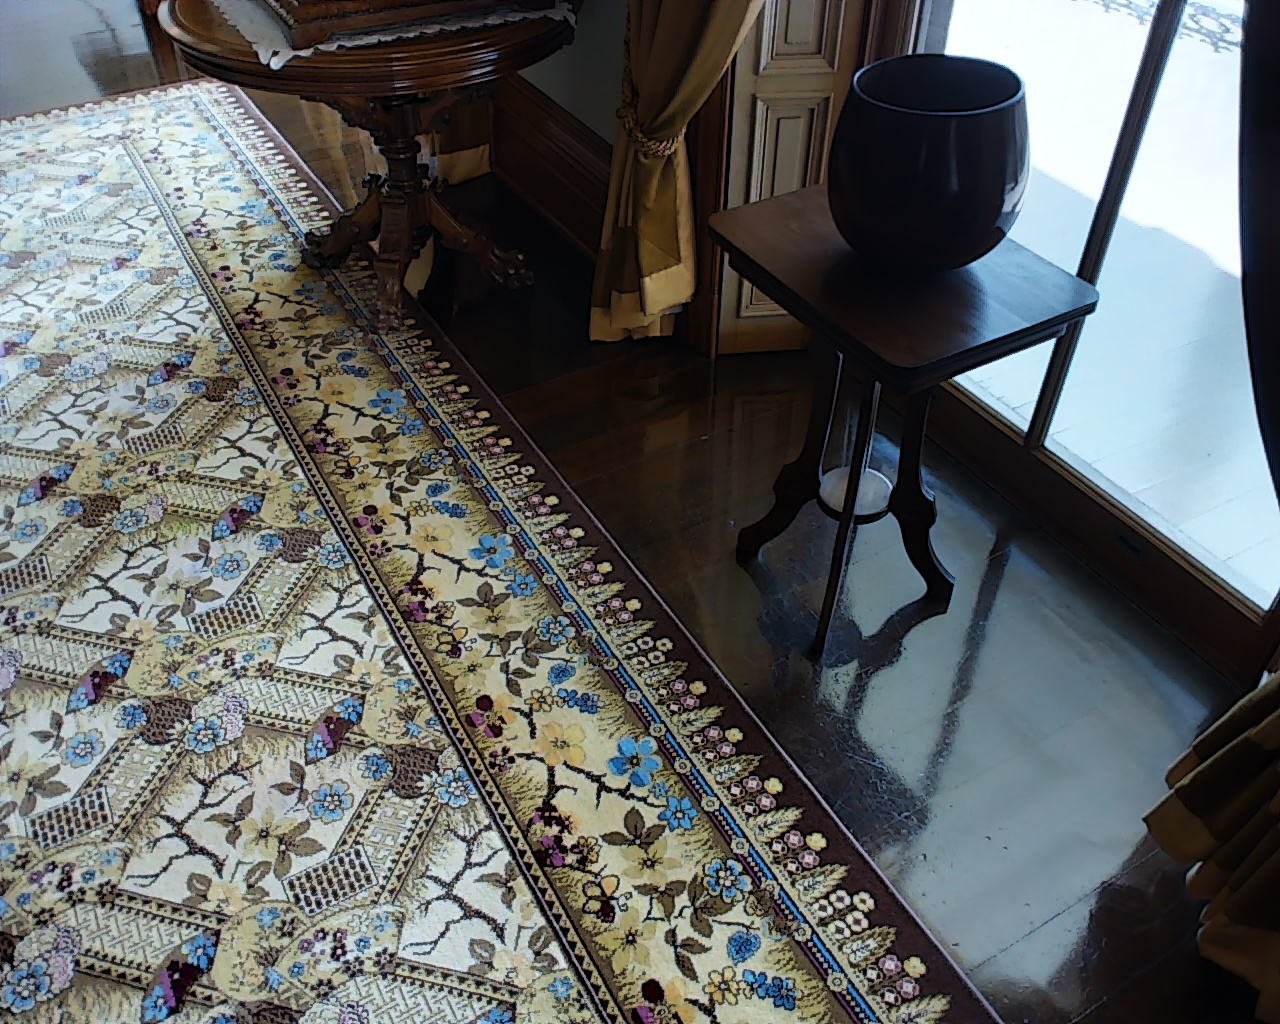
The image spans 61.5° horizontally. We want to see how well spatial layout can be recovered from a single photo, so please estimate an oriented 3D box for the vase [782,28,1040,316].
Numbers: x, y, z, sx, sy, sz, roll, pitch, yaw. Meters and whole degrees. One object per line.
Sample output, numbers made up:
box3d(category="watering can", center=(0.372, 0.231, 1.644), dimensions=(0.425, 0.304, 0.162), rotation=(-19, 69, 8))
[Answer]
box3d(category="vase", center=(0.390, -0.520, 1.630), dimensions=(0.170, 0.290, 0.320), rotation=(-21, 46, -21))
